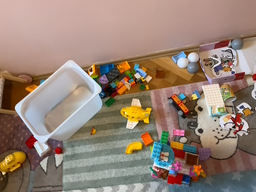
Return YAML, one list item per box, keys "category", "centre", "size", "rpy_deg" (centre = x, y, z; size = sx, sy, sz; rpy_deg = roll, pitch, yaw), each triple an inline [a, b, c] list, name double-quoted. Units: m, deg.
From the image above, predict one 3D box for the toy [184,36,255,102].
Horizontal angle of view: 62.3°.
- category: "toy"
  centre: [0.670, -0.180, 1.290]
  size: [0.580, 0.060, 0.360]
  rpy_deg: [-8, 66, 6]
